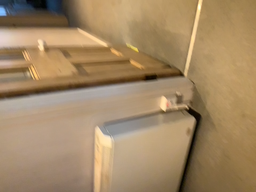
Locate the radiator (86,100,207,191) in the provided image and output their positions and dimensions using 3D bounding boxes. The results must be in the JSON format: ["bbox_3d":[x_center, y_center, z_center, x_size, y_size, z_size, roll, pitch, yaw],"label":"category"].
[{"bbox_3d":[0.090,0.590,1.470,0.200,0.720,1.050,41,133,50],"label":"radiator"}]
